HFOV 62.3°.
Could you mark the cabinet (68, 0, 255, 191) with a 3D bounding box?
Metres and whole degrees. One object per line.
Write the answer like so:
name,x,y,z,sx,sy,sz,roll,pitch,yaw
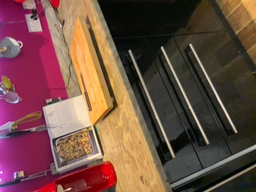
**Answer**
cabinet,0.300,0.080,1.210,0.610,0.890,1.270,-50,57,57
